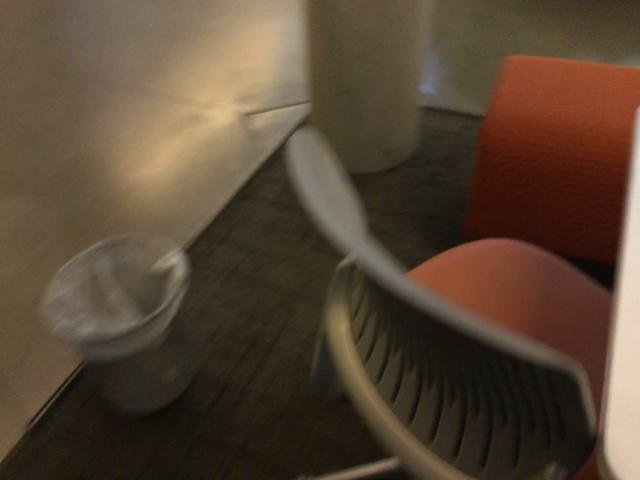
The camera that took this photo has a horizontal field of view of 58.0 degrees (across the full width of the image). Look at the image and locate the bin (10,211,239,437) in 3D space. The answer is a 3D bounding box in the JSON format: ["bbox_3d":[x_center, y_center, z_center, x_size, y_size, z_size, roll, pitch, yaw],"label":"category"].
[{"bbox_3d":[-0.450,0.200,1.430,0.320,0.350,0.330,17,48,21],"label":"bin"}]

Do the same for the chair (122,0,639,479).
[{"bbox_3d":[0.240,0.190,0.970,0.640,0.910,0.610,-36,52,-28],"label":"chair"}]
